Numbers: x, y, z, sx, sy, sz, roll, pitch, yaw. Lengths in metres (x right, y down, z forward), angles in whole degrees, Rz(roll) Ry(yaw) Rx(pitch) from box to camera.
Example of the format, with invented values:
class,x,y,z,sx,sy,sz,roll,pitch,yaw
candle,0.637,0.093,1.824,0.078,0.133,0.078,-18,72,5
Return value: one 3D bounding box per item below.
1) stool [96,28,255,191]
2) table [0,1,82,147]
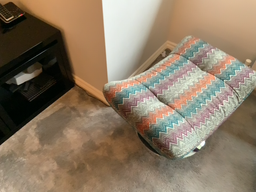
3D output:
class,x,y,z,sx,sy,sz,roll,pitch,yaw
stool,0.260,0.040,1.160,0.670,0.410,0.490,-34,60,-26
table,-0.810,-0.020,1.130,0.430,0.440,1.050,32,57,21
